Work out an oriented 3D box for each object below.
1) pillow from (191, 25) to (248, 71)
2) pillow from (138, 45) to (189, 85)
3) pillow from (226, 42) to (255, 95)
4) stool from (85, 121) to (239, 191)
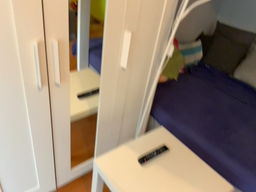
[{"bbox_3d":[1.110,-0.570,2.600,0.260,0.480,0.570,-16,15,-38],"label":"pillow"},{"bbox_3d":[0.380,-0.330,2.210,0.500,0.330,0.190,-14,14,-32],"label":"pillow"},{"bbox_3d":[1.400,-0.310,2.400,0.150,0.520,0.390,-14,-3,-33],"label":"pillow"},{"bbox_3d":[0.160,0.590,1.290,0.610,0.450,0.590,-18,43,-36],"label":"stool"}]
